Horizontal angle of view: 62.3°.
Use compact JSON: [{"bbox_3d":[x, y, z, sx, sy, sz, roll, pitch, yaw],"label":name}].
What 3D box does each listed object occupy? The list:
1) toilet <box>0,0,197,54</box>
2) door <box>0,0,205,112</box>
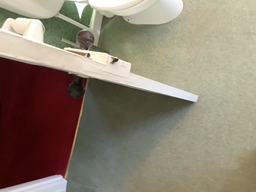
[{"bbox_3d":[-0.120,-0.610,1.030,0.700,0.780,0.570,12,91,33],"label":"toilet"},{"bbox_3d":[-0.500,-0.200,0.480,0.830,2.030,0.210,16,93,32],"label":"door"}]
